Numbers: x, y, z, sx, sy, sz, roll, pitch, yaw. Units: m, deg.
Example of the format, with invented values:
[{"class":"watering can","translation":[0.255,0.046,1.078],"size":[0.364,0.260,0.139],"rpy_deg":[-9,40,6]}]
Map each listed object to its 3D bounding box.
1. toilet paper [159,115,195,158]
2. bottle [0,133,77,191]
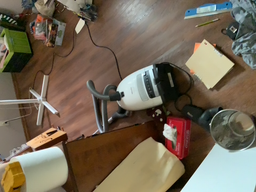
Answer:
[{"class":"toilet paper","translation":[0.320,0.260,1.410],"size":[0.200,0.090,0.230],"rpy_deg":[8,99,40]},{"class":"bottle","translation":[-0.420,0.340,0.980],"size":[0.210,0.230,0.250],"rpy_deg":[-26,77,39]}]
